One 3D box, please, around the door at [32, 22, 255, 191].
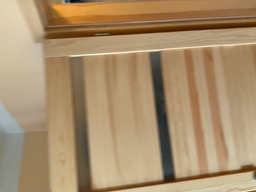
[{"bbox_3d":[0.720,0.040,0.970,0.100,2.150,0.760,132,133,-81],"label":"door"}]
